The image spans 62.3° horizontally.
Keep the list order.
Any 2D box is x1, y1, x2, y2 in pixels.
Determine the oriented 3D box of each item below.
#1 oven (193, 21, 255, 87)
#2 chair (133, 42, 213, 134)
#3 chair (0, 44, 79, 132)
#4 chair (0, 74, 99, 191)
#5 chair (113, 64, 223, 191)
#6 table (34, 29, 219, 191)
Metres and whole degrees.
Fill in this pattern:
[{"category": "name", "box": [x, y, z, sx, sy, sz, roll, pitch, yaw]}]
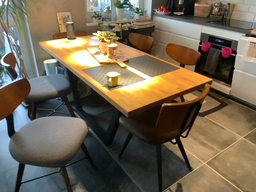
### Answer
[{"category": "oven", "box": [1.400, -0.620, 2.950, 0.640, 0.680, 0.580, -17, 34, -30]}, {"category": "chair", "box": [0.460, -0.120, 2.370, 0.610, 0.770, 0.510, -18, 34, -30]}, {"category": "chair", "box": [-0.900, -0.090, 2.250, 0.590, 0.780, 0.480, 2, 29, 1]}, {"category": "chair", "box": [-0.600, 0.320, 1.540, 0.610, 0.760, 0.480, 8, 30, 12]}, {"category": "chair", "box": [0.250, 0.260, 1.650, 0.490, 0.800, 0.560, -19, 35, -32]}, {"category": "table", "box": [-0.240, -0.100, 2.300, 0.840, 0.780, 2.010, -18, 35, -31]}]
